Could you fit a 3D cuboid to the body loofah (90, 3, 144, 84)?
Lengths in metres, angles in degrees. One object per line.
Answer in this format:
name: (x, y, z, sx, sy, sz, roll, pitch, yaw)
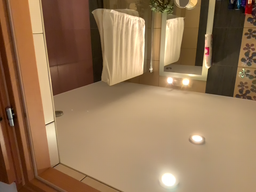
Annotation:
body loofah: (-0.060, -0.450, 1.810, 0.120, 0.570, 0.610, 10, -160, 29)
